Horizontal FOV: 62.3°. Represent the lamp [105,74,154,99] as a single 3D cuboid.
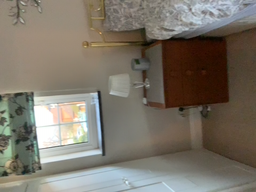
[{"bbox_3d":[0.010,-0.090,1.950,0.210,0.390,0.190,-171,76,-72],"label":"lamp"}]
